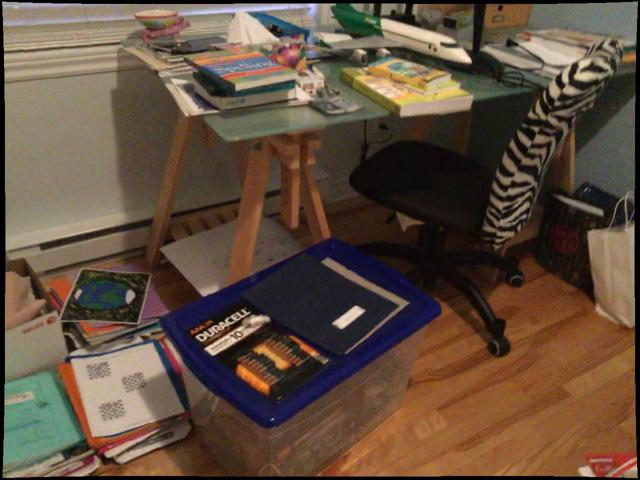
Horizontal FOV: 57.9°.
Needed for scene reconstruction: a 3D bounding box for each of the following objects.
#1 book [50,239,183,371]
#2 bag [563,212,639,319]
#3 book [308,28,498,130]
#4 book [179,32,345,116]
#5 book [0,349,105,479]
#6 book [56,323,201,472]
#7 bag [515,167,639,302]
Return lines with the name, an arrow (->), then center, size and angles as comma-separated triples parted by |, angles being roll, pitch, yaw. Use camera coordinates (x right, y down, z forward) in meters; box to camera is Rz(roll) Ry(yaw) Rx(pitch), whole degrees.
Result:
book -> -0.619, 0.180, 1.750 | 0.280, 0.140, 0.350 | -17, 39, -27
bag -> 1.039, 0.080, 1.960 | 0.250, 0.300, 0.230 | -17, 4, -28
book -> 0.200, -0.430, 1.490 | 0.310, 0.110, 0.370 | -17, 39, -27
book -> -0.140, -0.400, 1.360 | 0.290, 0.080, 0.270 | -17, 39, -27
book -> -0.719, 0.470, 1.340 | 0.330, 0.130, 0.360 | -17, 39, -27
book -> -0.499, 0.390, 1.500 | 0.270, 0.100, 0.310 | -17, 39, -27
bag -> 0.939, -0.030, 2.050 | 0.280, 0.310, 0.300 | -17, 39, -27
